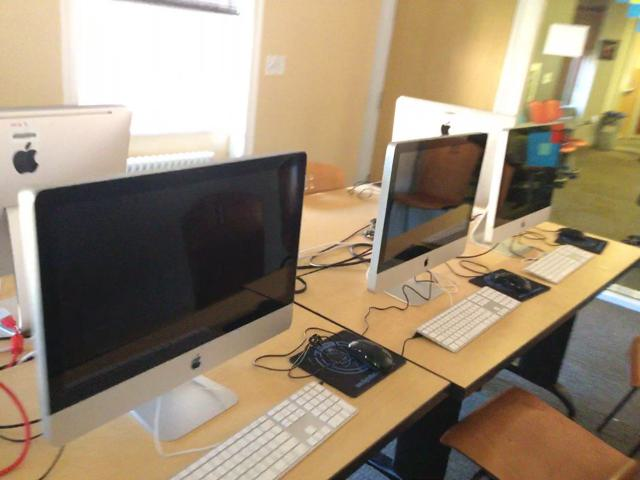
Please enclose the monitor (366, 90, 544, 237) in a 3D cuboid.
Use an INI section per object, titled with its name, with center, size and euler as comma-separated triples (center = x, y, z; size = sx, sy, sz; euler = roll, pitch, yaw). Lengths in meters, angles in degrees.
[monitor]
center = 0.500, -0.320, 2.260
size = 0.600, 0.430, 0.180
euler = 21, 25, 35
